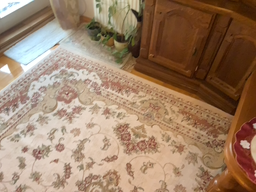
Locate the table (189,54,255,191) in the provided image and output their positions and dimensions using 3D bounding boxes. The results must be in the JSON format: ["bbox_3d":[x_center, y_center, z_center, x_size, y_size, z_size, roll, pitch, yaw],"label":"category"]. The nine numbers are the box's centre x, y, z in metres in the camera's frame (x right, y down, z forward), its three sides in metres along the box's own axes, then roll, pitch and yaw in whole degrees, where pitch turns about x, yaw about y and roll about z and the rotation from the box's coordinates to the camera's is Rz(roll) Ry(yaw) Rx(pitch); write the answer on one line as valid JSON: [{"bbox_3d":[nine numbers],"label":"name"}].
[{"bbox_3d":[0.820,0.330,1.210,0.610,0.590,0.850,25,53,16],"label":"table"}]

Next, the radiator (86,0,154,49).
[{"bbox_3d":[-0.090,-0.950,1.900,0.650,0.910,0.160,27,53,18],"label":"radiator"}]

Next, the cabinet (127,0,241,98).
[{"bbox_3d":[0.430,-0.530,1.800,0.690,0.760,0.490,25,53,16],"label":"cabinet"}]
